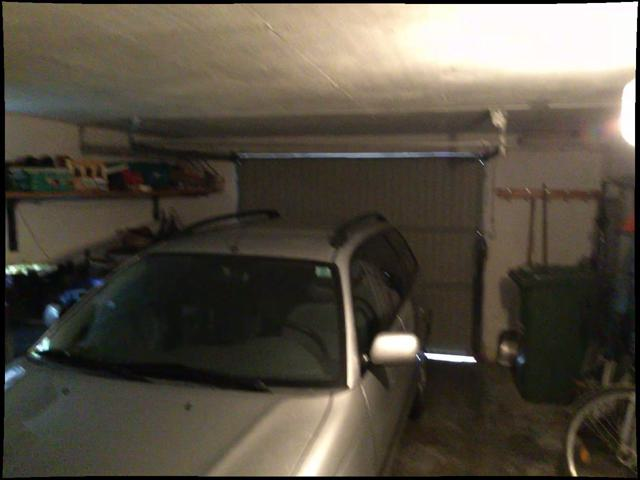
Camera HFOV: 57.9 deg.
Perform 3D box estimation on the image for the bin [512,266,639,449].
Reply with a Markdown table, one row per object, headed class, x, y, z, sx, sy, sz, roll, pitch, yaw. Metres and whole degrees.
| class | x | y | z | sx | sy | sz | roll | pitch | yaw |
| --- | --- | --- | --- | --- | --- | --- | --- | --- | --- |
| bin | 1.918 | 0.811 | 4.350 | 0.769 | 1.051 | 0.930 | 4 | 6 | 15 |
